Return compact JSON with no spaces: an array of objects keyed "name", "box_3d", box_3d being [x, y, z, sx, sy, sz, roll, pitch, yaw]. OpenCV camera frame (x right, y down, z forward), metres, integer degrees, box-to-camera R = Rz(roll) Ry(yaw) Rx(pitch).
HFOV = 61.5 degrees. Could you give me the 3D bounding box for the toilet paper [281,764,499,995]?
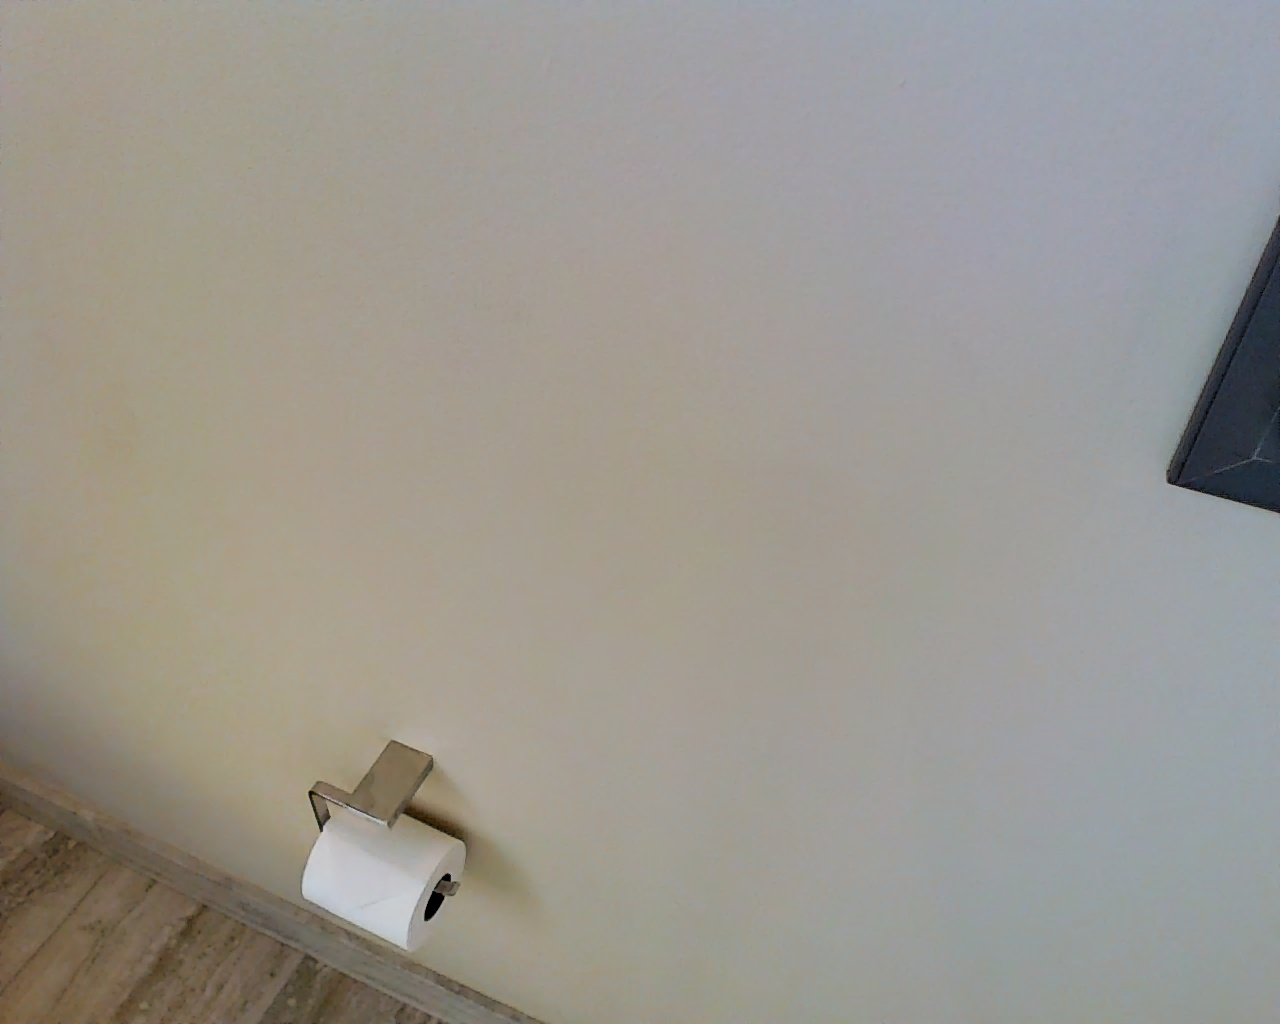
[{"name":"toilet paper","box_3d":[-0.220,0.330,0.970,0.140,0.120,0.110,18,45,17]}]
